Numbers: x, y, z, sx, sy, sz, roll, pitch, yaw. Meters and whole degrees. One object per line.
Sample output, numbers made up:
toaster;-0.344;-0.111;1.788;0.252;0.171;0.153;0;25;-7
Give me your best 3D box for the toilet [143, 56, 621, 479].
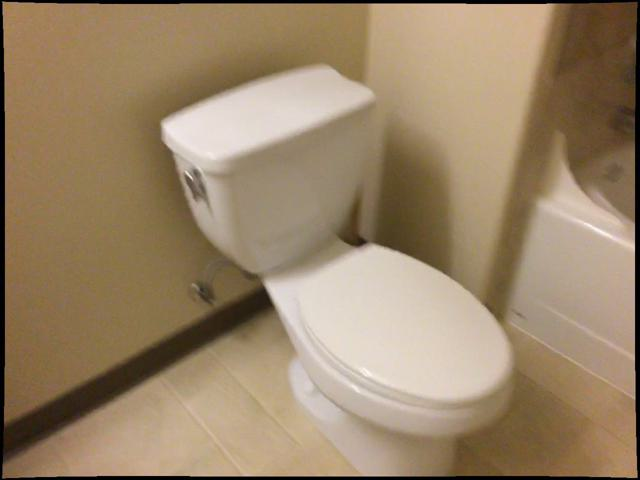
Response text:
toilet;0.080;0.130;1.330;0.480;0.791;0.779;-30;47;-32
